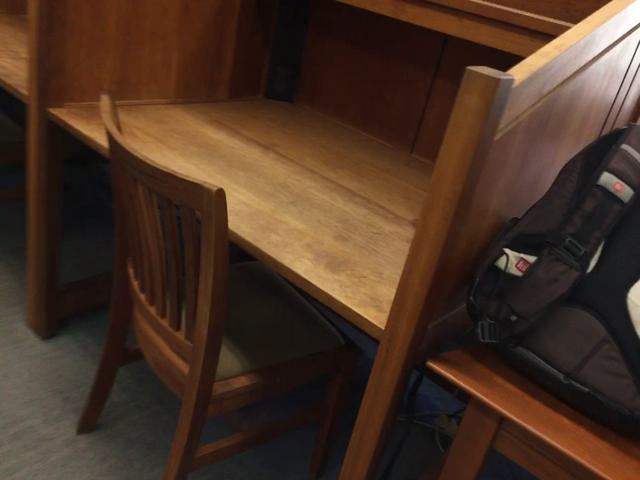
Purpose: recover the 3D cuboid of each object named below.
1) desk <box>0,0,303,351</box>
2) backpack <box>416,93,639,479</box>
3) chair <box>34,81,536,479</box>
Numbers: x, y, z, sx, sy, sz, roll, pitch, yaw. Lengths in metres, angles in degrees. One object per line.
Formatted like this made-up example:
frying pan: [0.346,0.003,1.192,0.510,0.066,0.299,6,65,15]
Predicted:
desk: [-0.930,-0.650,2.150,1.350,1.400,0.900,29,28,33]
backpack: [0.510,0.050,0.890,0.450,0.420,0.450,29,28,33]
chair: [-0.150,0.210,1.360,0.790,0.930,0.650,30,28,33]
